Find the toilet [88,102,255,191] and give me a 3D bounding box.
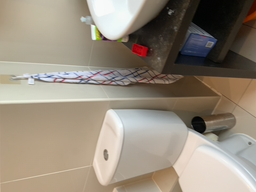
[{"bbox_3d":[0.330,0.390,0.970,0.660,0.780,0.390,51,132,43],"label":"toilet"}]
